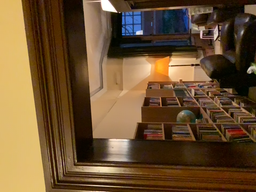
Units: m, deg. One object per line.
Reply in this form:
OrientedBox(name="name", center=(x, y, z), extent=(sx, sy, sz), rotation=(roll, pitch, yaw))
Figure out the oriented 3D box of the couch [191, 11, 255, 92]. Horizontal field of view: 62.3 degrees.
OrientedBox(name="couch", center=(1.690, -0.810, 3.580), extent=(1.170, 0.960, 1.110), rotation=(-75, -16, -66))
